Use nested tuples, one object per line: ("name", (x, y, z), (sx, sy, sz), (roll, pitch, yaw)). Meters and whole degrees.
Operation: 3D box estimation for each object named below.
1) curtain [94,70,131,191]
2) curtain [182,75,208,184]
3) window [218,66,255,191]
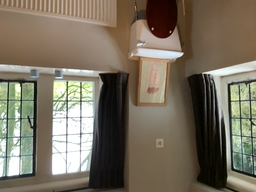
("curtain", (-0.150, 0.350, 2.040), (0.300, 1.170, 0.170), (1, 176, -26))
("curtain", (0.690, 0.330, 2.220), (0.090, 1.070, 0.240), (1, 176, -24))
("window", (1.190, 0.270, 1.750), (0.110, 1.070, 0.950), (1, 176, -26))
